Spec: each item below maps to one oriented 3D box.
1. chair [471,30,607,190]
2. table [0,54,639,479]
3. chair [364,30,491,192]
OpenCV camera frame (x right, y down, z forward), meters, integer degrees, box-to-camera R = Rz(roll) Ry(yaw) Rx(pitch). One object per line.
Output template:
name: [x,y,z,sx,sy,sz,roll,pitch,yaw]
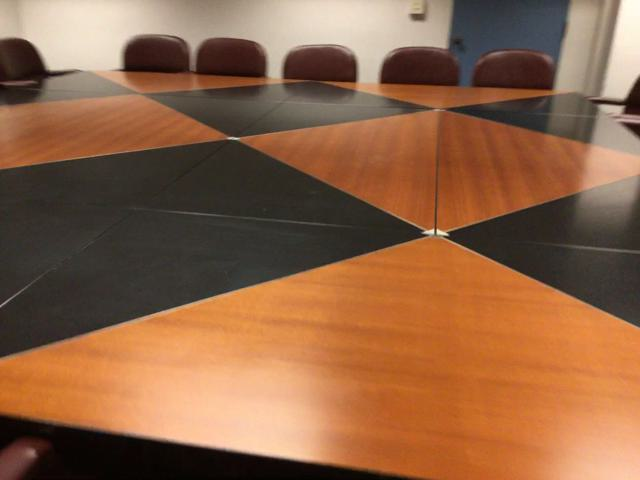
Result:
chair: [1.480,-0.940,4.080,0.680,0.970,0.660,5,23,10]
table: [-0.240,-0.470,2.550,3.590,0.250,3.680,7,24,15]
chair: [0.760,-0.940,4.080,0.740,0.980,0.650,7,24,14]
